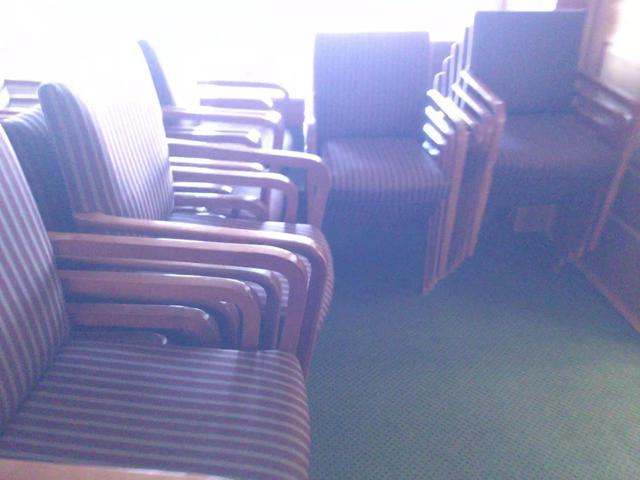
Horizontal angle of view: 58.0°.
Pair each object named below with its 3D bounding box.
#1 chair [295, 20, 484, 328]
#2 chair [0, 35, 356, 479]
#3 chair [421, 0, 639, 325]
[{"bbox_3d":[0.220,-0.280,2.290,0.590,1.060,0.600,-3,24,-2],"label":"chair"},{"bbox_3d":[-0.270,0.130,1.430,0.650,1.130,0.710,-2,24,-1],"label":"chair"},{"bbox_3d":[0.900,-0.410,2.460,0.700,1.160,0.960,-3,24,-2],"label":"chair"}]
